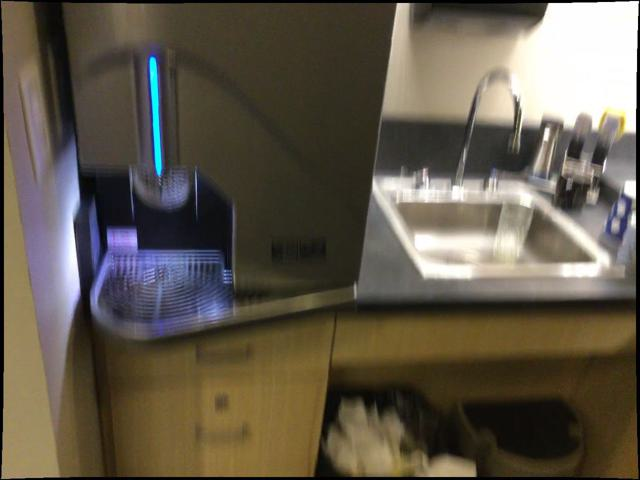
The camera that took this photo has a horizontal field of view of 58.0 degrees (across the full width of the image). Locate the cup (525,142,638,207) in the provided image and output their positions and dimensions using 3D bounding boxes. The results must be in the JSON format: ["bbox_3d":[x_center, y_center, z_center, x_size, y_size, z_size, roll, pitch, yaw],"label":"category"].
[{"bbox_3d":[0.698,-0.180,1.560,0.190,0.110,0.180,-2,30,-13],"label":"cup"}]

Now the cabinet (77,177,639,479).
[{"bbox_3d":[0.150,0.321,1.560,1.337,0.771,0.660,-2,30,-13],"label":"cabinet"}]

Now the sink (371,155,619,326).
[{"bbox_3d":[0.399,-0.030,1.470,0.379,0.190,0.520,-2,30,-13],"label":"sink"}]
